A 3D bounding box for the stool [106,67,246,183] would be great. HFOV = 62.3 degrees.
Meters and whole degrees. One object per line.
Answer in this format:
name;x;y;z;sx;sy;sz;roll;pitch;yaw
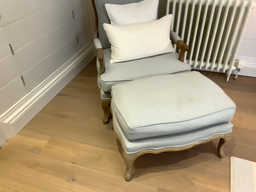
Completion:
stool;0.270;0.170;1.520;0.740;0.460;0.540;-9;38;-11
